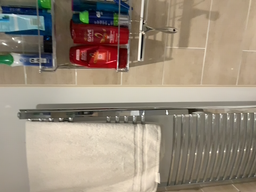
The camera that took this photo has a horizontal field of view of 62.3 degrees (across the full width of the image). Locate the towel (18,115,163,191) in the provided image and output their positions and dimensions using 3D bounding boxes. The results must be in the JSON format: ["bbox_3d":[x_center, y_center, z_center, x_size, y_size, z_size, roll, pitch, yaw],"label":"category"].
[{"bbox_3d":[-0.150,0.290,0.960,0.100,0.580,0.380,-127,39,-70],"label":"towel"}]
